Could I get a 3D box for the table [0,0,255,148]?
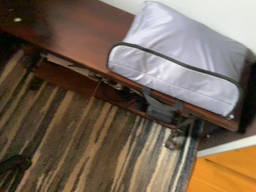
[{"bbox_3d":[-0.050,-0.130,0.950,0.980,0.410,0.290,24,69,3],"label":"table"}]
